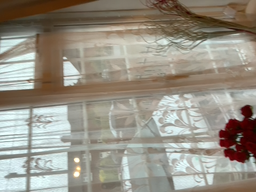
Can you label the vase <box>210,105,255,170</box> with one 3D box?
[{"bbox_3d":[0.700,0.180,1.030,0.110,0.510,0.270,103,160,-68],"label":"vase"}]
